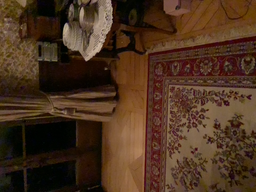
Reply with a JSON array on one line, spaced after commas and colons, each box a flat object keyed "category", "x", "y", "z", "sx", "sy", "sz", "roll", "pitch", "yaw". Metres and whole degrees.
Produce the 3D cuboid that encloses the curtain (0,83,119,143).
[{"category": "curtain", "x": -1.660, "y": 0.180, "z": 2.040, "sx": 0.480, "sy": 3.330, "sz": 0.550, "roll": 8, "pitch": 99, "yaw": 58}]
